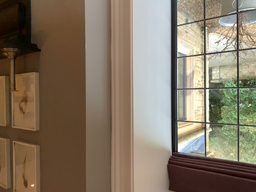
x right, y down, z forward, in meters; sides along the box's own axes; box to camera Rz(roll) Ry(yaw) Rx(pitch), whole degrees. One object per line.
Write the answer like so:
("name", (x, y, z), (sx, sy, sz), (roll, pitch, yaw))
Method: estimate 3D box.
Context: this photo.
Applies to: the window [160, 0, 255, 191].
("window", (0.780, -0.050, 1.080), (1.290, 1.320, 0.150), (0, -179, 36))
